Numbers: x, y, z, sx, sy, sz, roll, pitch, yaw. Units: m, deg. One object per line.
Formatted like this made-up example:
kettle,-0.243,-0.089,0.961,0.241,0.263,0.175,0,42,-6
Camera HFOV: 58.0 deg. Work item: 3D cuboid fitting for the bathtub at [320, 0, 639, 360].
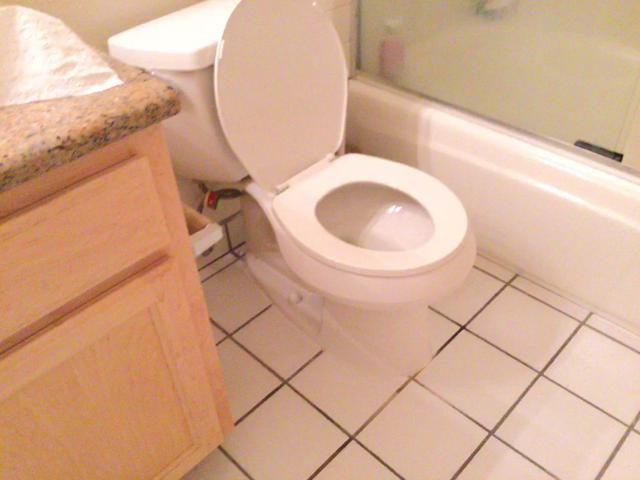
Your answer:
bathtub,0.830,-0.250,1.550,0.870,0.530,1.450,-33,46,-32

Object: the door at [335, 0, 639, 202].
door,0.360,-0.660,1.210,0.160,0.970,0.780,-33,46,-32

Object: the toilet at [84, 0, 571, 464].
toilet,0.000,-0.120,1.280,0.510,0.780,0.730,-33,46,-32
